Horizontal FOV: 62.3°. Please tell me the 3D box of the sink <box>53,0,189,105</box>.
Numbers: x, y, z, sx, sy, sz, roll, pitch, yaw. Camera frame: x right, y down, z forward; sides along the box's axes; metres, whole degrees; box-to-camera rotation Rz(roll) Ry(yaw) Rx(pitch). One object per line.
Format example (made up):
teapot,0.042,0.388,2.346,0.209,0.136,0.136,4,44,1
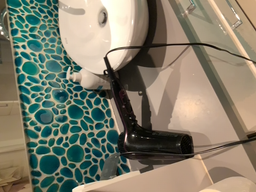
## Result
sink,-0.100,-0.330,0.710,0.380,0.130,0.610,-40,60,44
